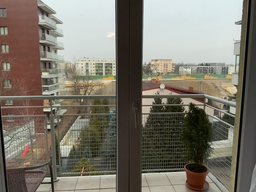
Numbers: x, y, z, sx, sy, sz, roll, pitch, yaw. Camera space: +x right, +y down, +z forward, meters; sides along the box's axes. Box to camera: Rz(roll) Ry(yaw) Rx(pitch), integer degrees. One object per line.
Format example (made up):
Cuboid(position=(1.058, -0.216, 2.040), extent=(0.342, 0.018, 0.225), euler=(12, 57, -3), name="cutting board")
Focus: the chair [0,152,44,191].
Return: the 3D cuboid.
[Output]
Cuboid(position=(-0.990, 0.870, 1.900), extent=(0.380, 0.560, 0.410), euler=(-1, 8, -13), name="chair")
